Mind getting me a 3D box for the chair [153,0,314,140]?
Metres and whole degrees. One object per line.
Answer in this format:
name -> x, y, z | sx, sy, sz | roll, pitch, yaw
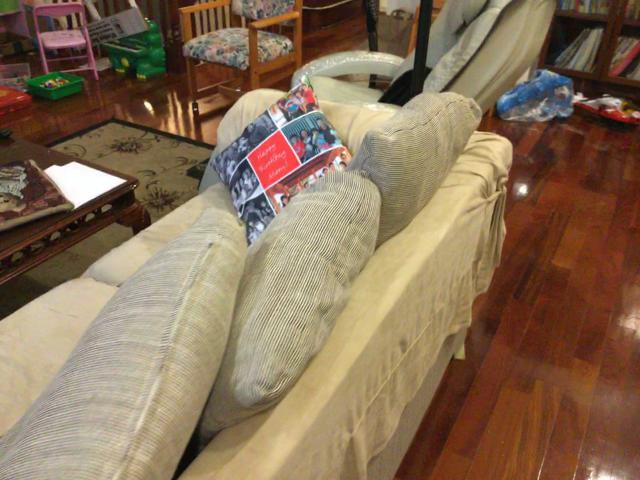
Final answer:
chair -> -0.480, -1.140, 3.350 | 0.650, 0.810, 0.610 | 20, 38, 23
